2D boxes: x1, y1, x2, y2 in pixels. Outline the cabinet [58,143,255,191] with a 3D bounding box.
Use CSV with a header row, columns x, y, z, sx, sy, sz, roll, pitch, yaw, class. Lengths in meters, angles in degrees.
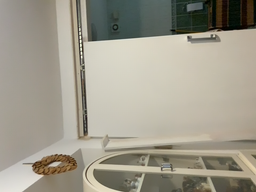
x,y,z,sx,sy,sz,roll,pitch,yaw,class
0.590,0.620,1.260,0.850,1.770,0.380,-28,-64,-78,cabinet
